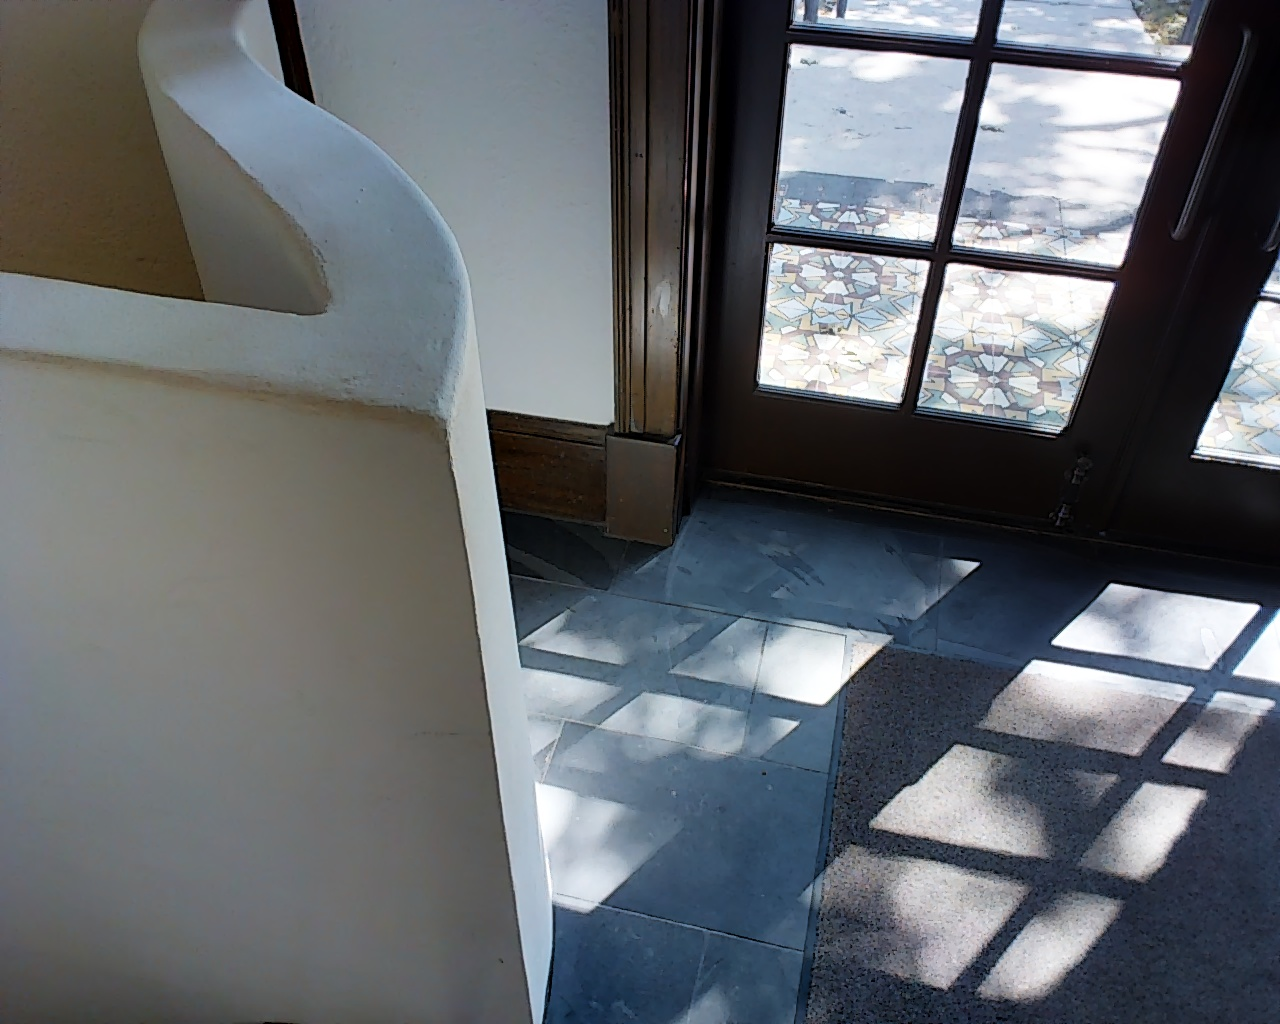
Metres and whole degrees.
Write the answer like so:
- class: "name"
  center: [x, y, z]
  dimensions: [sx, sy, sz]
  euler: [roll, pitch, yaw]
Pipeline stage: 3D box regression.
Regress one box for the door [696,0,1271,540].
- class: "door"
  center: [0.490, -0.780, 1.520]
  dimensions: [0.750, 2.060, 0.070]
  euler: [9, 44, 10]
